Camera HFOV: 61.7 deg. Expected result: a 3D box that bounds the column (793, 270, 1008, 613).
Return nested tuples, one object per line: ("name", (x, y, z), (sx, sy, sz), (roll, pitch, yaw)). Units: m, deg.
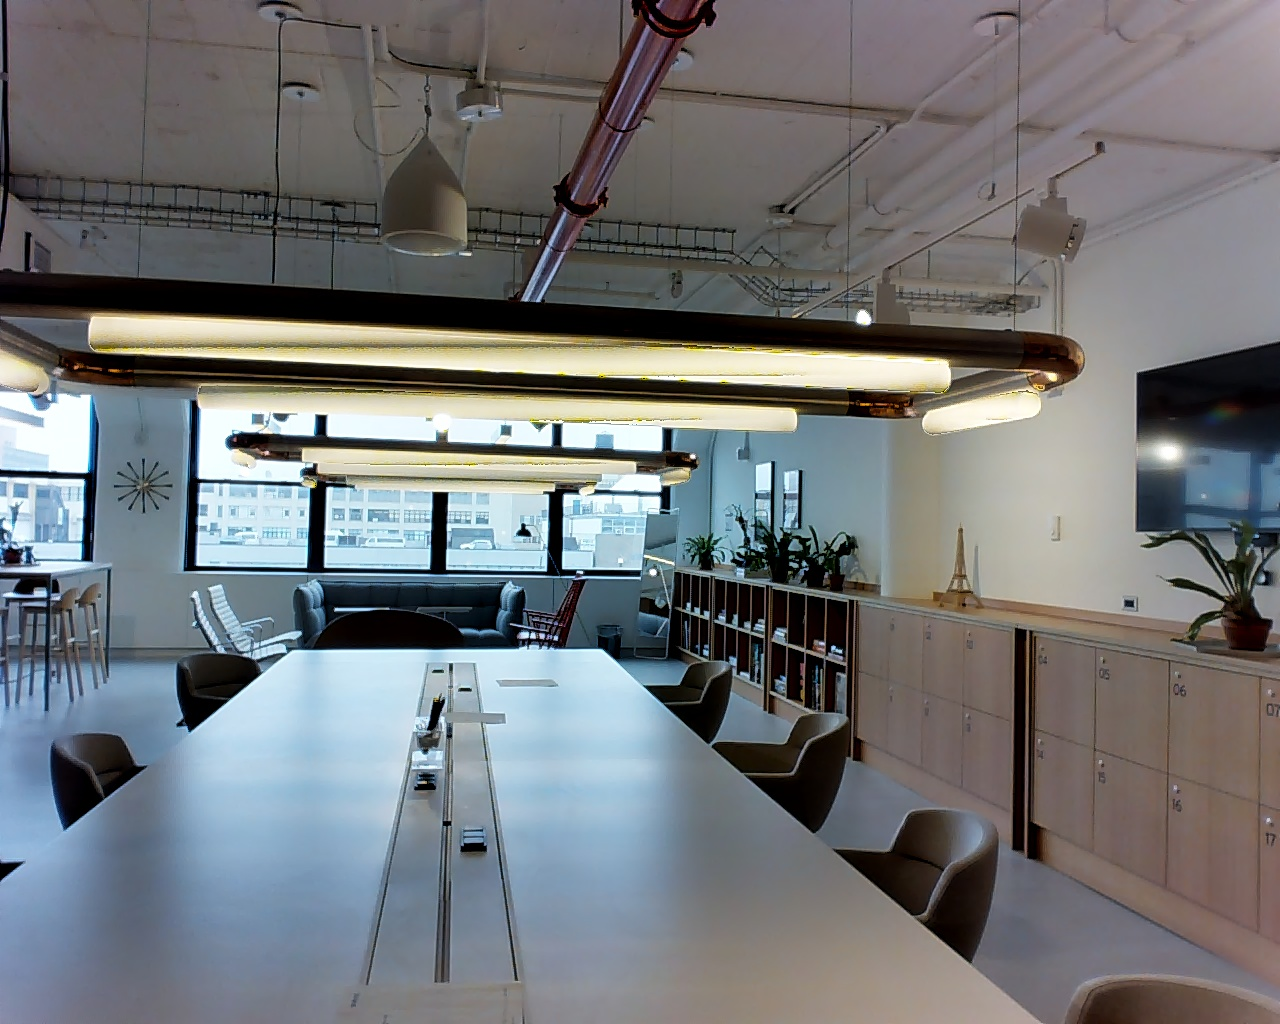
("column", (1.560, -0.360, 6.750), (0.560, 1.860, 1.820), (1, -1, -12))
